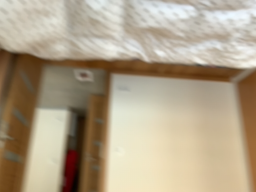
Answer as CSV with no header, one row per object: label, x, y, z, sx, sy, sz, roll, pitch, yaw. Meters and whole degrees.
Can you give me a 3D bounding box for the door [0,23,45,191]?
door,-1.100,0.360,2.120,0.110,1.990,0.840,5,159,-11
